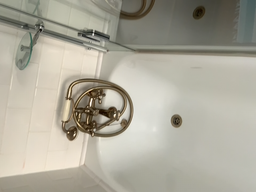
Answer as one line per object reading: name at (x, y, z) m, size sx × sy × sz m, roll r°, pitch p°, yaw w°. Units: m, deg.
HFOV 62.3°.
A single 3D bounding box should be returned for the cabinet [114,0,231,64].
cabinet at (0.260, -0.480, 1.130) m, size 0.360 × 0.450 × 0.510 m, roll 16°, pitch 97°, yaw 45°
